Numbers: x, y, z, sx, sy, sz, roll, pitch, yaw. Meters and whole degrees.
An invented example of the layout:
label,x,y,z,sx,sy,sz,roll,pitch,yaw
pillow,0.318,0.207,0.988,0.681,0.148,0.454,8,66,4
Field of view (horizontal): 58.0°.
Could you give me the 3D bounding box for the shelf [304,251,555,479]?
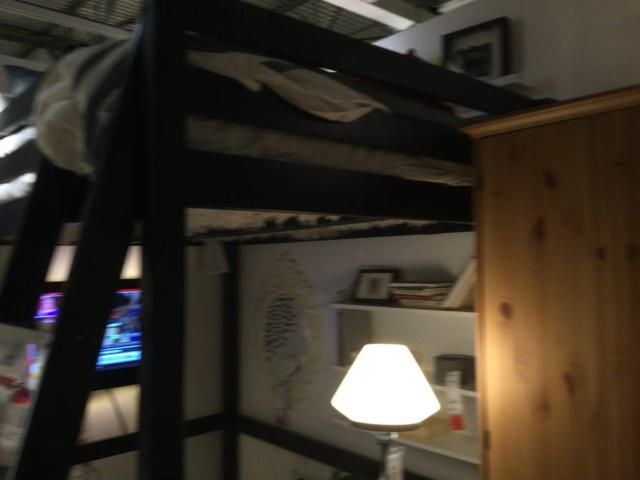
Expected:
label,x,y,z,sx,sy,sz,roll,pitch,yaw
shelf,0.360,0.500,2.230,0.250,0.880,0.980,0,-3,-41
